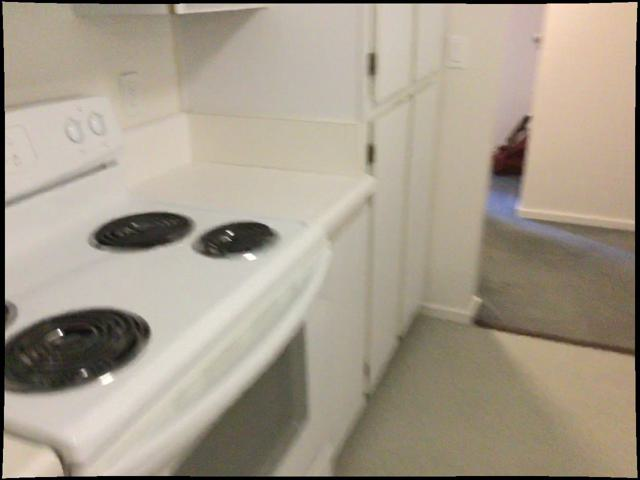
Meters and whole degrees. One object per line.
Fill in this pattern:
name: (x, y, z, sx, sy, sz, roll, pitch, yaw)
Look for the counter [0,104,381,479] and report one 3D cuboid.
counter: (-0.469, 0.040, 1.110, 0.669, 0.241, 1.640, 9, 27, 23)
